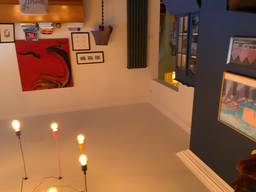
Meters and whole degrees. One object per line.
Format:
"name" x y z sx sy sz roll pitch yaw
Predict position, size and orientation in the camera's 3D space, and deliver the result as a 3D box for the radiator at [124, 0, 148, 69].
"radiator" 0.160 -1.480 4.240 0.440 1.850 0.150 -8 -161 -20
